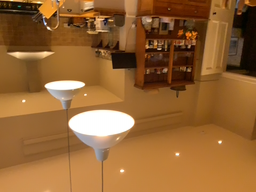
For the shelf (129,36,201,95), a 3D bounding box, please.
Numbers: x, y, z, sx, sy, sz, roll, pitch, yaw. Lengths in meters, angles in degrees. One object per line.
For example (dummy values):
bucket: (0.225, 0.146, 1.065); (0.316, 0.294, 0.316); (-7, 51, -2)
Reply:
shelf: (0.780, -0.650, 4.400); (1.460, 1.080, 0.360); (-6, -161, -28)
